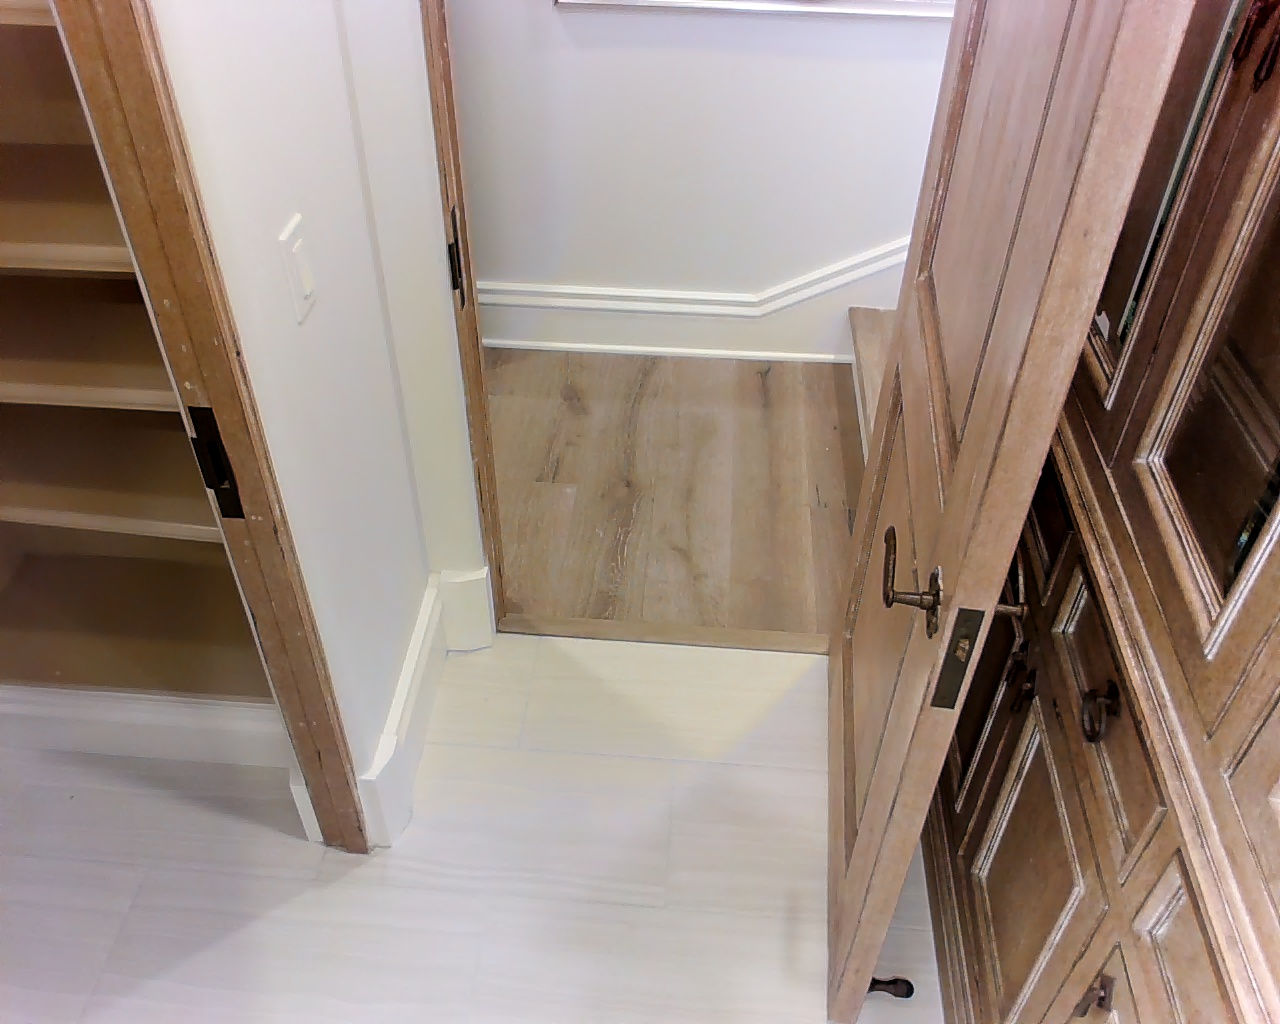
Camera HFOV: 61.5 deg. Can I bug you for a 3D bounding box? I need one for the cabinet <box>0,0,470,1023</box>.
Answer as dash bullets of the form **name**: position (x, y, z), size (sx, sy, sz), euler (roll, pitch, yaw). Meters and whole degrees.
- **cabinet**: position (-1.200, -0.150, 1.170), size (1.550, 2.150, 1.500), euler (3, 42, 3)
